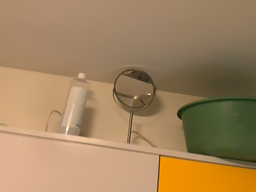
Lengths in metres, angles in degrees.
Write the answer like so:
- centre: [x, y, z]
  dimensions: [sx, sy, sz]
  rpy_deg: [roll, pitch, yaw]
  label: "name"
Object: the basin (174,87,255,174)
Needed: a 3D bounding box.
- centre: [0.400, 0.150, 0.760]
  dimensions: [0.370, 0.190, 0.320]
  rpy_deg: [10, -23, -4]
  label: "basin"
